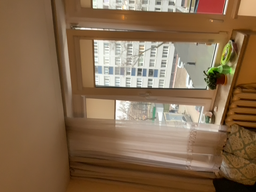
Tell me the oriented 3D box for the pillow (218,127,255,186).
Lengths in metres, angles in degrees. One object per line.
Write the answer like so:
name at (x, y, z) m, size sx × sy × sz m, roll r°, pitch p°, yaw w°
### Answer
pillow at (1.160, 0.610, 2.160) m, size 0.260 × 0.300 × 0.500 m, roll -80°, pitch -6°, yaw -73°
